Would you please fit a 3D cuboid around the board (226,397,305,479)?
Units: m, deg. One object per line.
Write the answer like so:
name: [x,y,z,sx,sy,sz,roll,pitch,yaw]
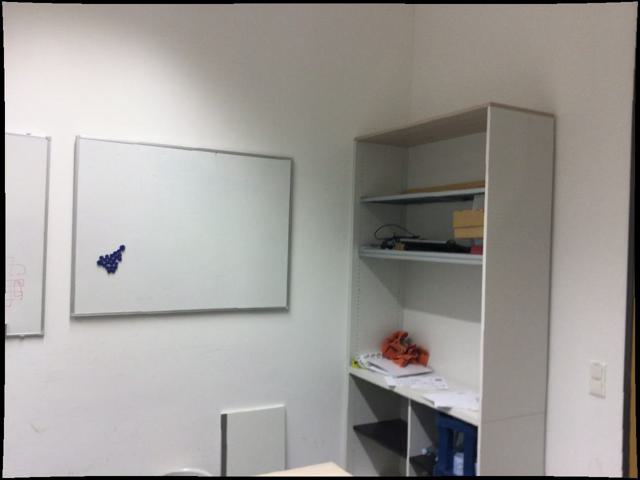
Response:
board: [-0.310,1.221,3.260,0.400,0.591,0.160,1,2,-28]
